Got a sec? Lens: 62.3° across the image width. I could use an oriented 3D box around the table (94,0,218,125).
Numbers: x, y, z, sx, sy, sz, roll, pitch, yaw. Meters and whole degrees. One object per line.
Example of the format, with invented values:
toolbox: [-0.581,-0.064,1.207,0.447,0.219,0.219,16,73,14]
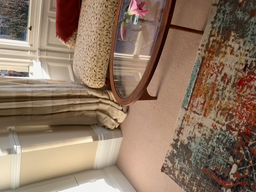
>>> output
table: [0.190,-0.530,1.680,0.690,0.400,1.310,39,121,45]
